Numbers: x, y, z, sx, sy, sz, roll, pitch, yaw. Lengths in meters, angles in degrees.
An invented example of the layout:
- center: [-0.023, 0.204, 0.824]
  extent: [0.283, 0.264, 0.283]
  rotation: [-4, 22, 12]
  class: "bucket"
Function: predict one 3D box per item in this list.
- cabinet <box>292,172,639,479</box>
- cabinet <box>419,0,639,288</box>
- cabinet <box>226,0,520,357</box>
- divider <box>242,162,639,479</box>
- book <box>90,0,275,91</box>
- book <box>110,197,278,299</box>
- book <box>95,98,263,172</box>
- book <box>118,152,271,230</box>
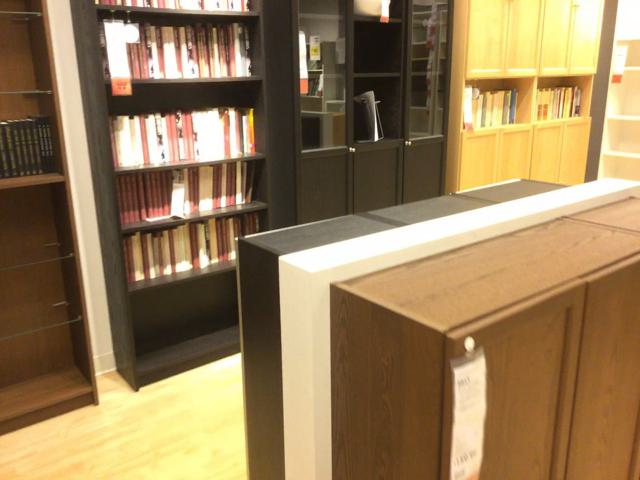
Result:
- center: [0.610, 0.480, 1.450]
  extent: [1.260, 1.080, 0.530]
  rotation: [-12, 32, -34]
  class: "cabinet"
- center: [1.510, -1.010, 3.960]
  extent: [1.590, 2.290, 0.710]
  rotation: [-11, 17, -34]
  class: "cabinet"
- center: [0.360, -0.730, 3.290]
  extent: [1.480, 2.320, 0.710]
  rotation: [-11, 12, -34]
  class: "cabinet"
- center: [0.510, 0.430, 1.590]
  extent: [1.350, 1.060, 0.480]
  rotation: [-12, 32, -34]
  class: "divider"
- center: [-0.590, -0.850, 2.540]
  extent: [0.720, 0.310, 0.270]
  rotation: [-12, 32, -34]
  class: "book"
- center: [-0.580, 0.020, 2.750]
  extent: [0.750, 0.310, 0.190]
  rotation: [-12, 32, -34]
  class: "book"
- center: [-0.640, -0.500, 2.680]
  extent: [0.700, 0.230, 0.250]
  rotation: [-12, 32, -34]
  class: "book"
- center: [-0.570, -0.240, 2.700]
  extent: [0.700, 0.260, 0.110]
  rotation: [-12, 32, -34]
  class: "book"
